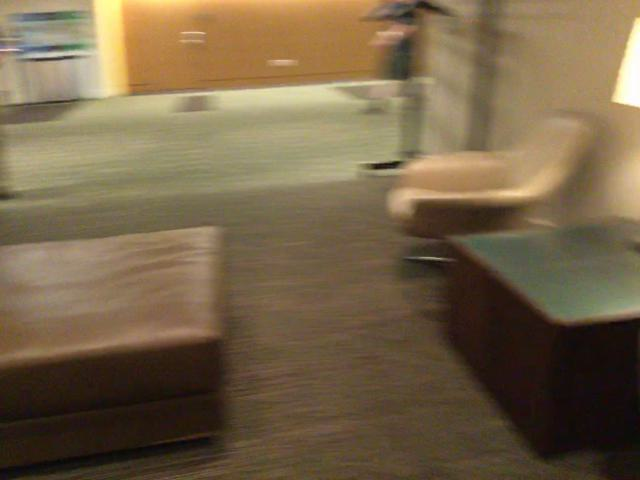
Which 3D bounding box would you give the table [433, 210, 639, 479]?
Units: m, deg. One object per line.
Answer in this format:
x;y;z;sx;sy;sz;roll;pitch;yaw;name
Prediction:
0.930;0.290;1.900;0.780;0.460;0.960;-5;20;-10;table

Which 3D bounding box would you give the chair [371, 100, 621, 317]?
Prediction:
0.720;-0.200;2.760;0.890;0.790;0.880;-1;20;1;chair
